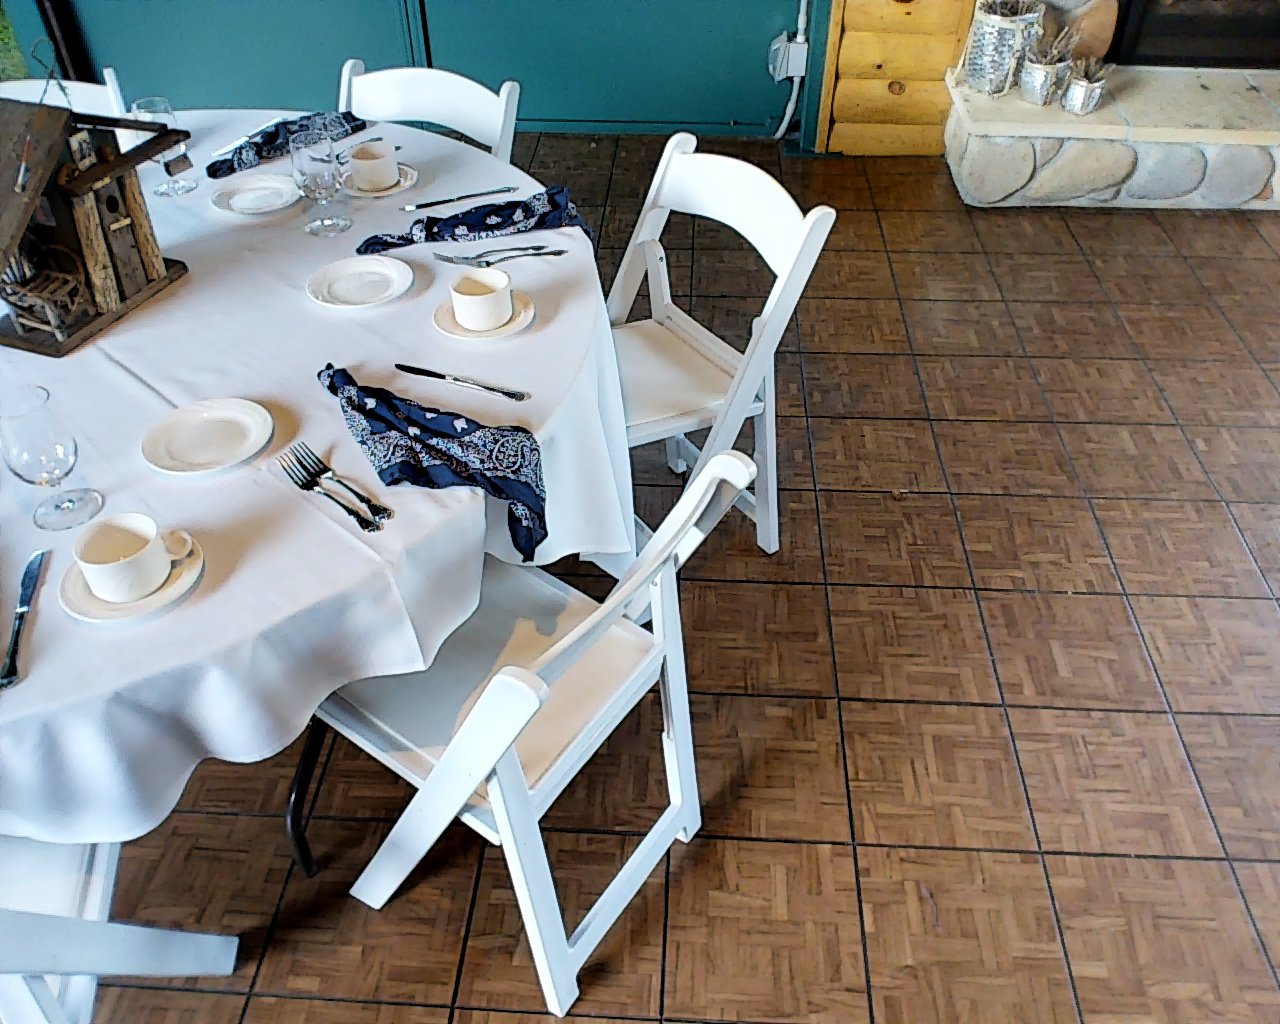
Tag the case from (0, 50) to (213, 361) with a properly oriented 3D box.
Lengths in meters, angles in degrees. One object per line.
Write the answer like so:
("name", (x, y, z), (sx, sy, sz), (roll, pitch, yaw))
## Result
("case", (-0.840, -0.450, 1.550), (0.200, 0.280, 0.380), (8, 42, 10))
